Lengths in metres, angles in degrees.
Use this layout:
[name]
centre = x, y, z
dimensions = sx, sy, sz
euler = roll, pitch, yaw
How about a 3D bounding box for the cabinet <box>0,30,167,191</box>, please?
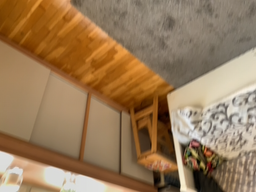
[cabinet]
centre = -0.390, 0.330, 1.750
dimensions = 0.400, 0.760, 1.720
euler = -31, 133, 32
